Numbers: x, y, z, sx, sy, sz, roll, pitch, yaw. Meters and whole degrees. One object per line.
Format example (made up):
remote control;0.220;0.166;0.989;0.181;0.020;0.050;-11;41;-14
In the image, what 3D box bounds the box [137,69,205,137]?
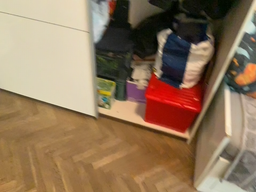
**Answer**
box;0.290;0.050;1.500;0.370;0.330;0.220;19;48;11
